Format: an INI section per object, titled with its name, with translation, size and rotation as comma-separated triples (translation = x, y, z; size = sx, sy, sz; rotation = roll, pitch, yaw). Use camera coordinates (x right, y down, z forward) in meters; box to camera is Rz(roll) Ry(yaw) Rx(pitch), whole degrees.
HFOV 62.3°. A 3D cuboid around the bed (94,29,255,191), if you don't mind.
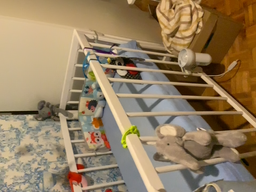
[bed]
translation = 0.290, 0.230, 1.100
size = 1.170, 0.530, 0.600
rotation = 61, 139, 43
